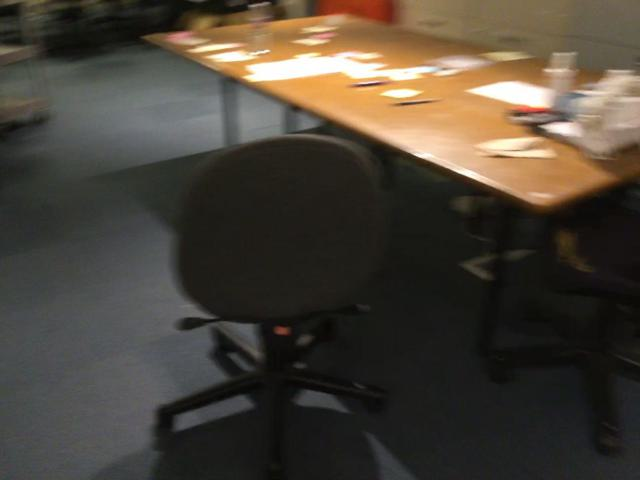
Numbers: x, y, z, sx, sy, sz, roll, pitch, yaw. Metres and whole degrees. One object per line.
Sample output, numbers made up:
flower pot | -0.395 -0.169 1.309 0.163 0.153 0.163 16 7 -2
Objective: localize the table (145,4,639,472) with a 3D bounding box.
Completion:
table | 0.300 -0.420 2.540 1.270 0.850 2.470 -18 32 -26

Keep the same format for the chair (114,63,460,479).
chair | -0.110 0.100 1.500 0.610 0.940 0.650 -7 28 -12
